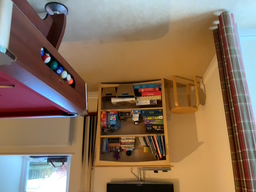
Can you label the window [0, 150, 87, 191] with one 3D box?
[{"bbox_3d":[-1.430,1.380,3.430,1.340,0.930,0.650,-2,163,4],"label":"window"}]
